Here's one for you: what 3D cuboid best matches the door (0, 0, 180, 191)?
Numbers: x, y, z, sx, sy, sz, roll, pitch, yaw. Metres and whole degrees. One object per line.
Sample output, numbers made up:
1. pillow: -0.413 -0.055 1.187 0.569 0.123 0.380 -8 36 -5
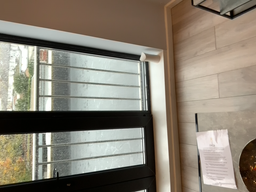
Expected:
1. door: -0.480 0.610 1.700 0.190 2.200 2.850 -15 75 59
